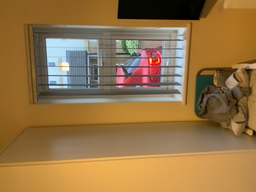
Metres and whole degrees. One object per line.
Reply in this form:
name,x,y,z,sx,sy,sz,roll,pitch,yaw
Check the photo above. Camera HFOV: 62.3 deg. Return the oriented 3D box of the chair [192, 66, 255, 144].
chair,1.000,0.020,1.640,0.550,0.790,0.480,-129,39,-78
